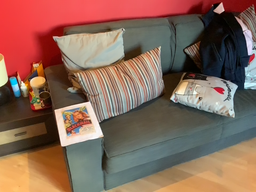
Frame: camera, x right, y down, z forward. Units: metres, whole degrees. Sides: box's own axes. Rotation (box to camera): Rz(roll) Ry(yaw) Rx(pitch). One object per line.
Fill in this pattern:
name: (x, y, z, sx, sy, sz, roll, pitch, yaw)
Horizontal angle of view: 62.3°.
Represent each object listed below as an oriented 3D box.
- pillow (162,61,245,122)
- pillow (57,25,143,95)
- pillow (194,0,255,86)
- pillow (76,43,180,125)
pillow: (0.550, -0.060, 1.530, 0.480, 0.120, 0.420, 18, 39, 22)
pillow: (-0.210, -0.250, 1.500, 0.500, 0.400, 0.230, -9, 58, -18)
pillow: (1.080, -0.510, 1.870, 0.590, 0.480, 0.680, -10, 37, -16)
pillow: (-0.010, -0.090, 1.400, 0.600, 0.330, 0.220, -20, 60, -24)
